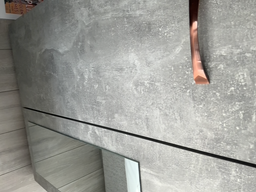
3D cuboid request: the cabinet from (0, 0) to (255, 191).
[{"bbox_3d":[0.290,0.050,0.530,0.530,1.950,0.760,-14,103,-43],"label":"cabinet"}]
